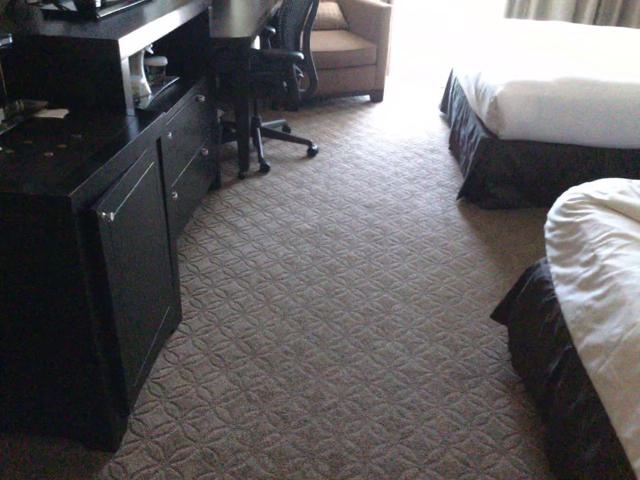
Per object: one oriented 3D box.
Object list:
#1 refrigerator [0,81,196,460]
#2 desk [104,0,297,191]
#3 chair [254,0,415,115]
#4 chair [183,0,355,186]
[{"bbox_3d":[-0.810,0.050,1.670,0.670,0.820,0.670,4,30,4],"label":"refrigerator"},{"bbox_3d":[-0.580,-1.060,3.420,0.710,1.000,1.400,4,30,4],"label":"desk"},{"bbox_3d":[0.070,-1.560,4.330,0.850,0.910,0.920,-12,33,-23],"label":"chair"},{"bbox_3d":[-0.310,-0.990,3.220,0.750,1.100,0.720,-8,31,-17],"label":"chair"}]
